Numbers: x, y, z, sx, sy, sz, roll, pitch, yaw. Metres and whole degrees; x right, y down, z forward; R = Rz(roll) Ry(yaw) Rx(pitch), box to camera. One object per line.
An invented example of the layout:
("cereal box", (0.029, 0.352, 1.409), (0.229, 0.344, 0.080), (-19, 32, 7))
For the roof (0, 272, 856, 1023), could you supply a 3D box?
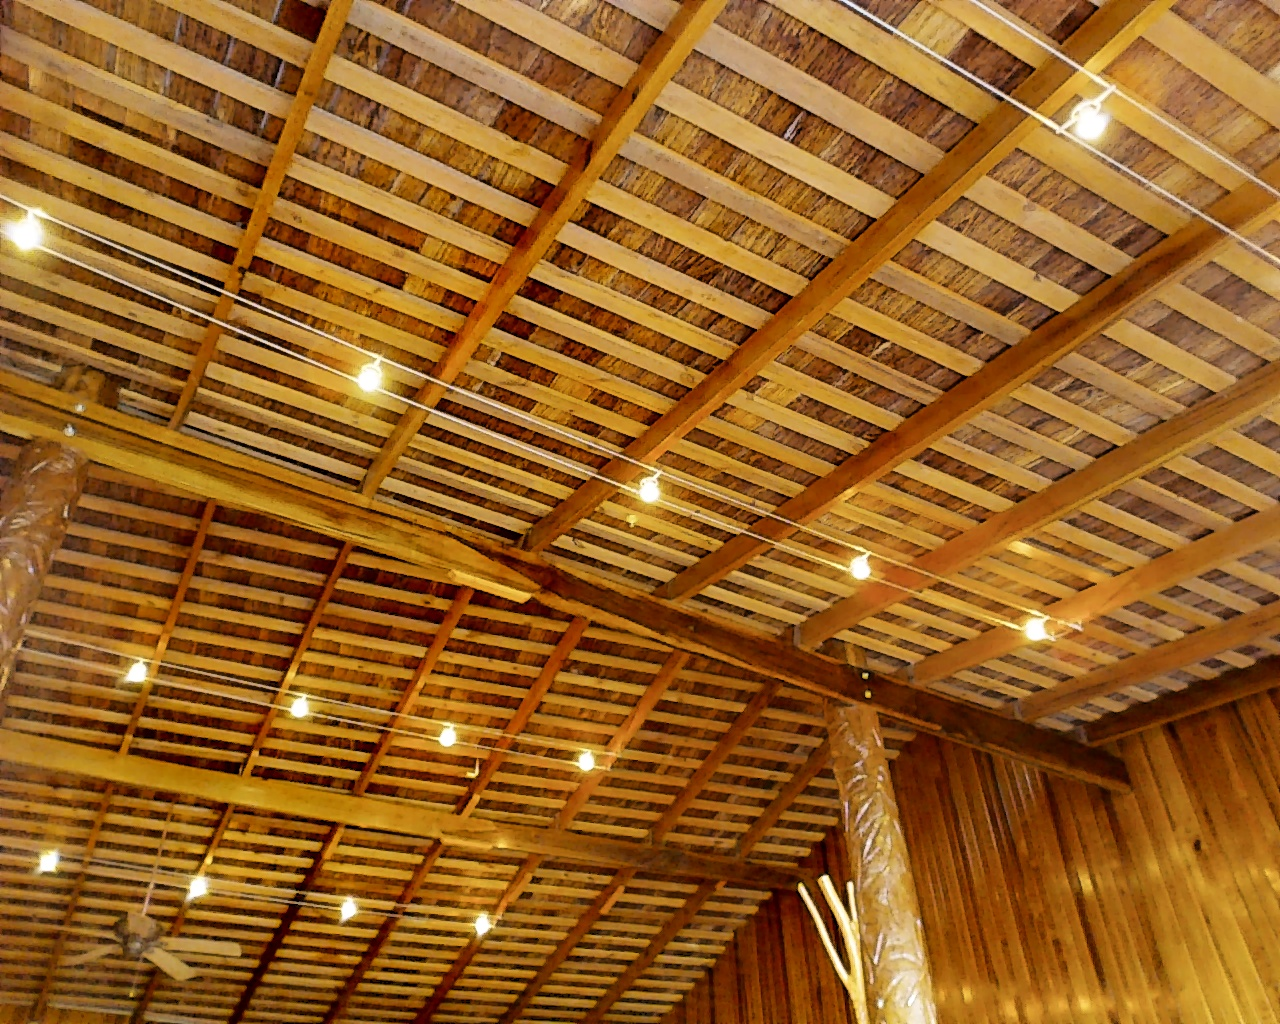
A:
("roof", (-2.140, 2.260, 8.170), (7.410, 7.020, 1.750), (17, -45, -20))
